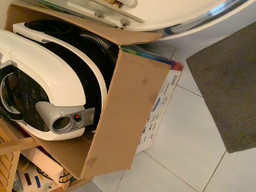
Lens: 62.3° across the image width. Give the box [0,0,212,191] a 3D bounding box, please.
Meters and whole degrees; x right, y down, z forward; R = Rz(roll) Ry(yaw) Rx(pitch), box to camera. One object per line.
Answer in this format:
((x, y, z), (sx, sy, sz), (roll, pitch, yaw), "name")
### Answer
((-0.170, -0.100, 0.860), (0.690, 0.560, 0.510), (30, 108, 30), "box")
